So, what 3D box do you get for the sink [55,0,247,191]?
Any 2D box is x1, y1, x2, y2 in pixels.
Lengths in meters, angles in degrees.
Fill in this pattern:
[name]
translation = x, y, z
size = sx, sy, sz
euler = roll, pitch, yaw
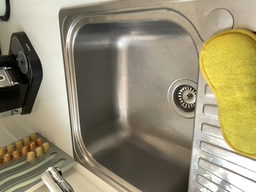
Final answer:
[sink]
translation = 0.020, 0.000, 0.620
size = 0.460, 0.200, 0.520
euler = 17, 114, 41
